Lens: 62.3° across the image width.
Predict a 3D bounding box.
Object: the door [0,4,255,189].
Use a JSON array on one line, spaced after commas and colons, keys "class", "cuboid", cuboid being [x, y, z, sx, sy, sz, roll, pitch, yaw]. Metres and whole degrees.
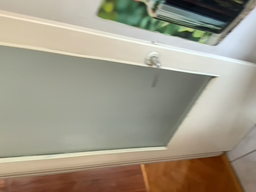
[{"class": "door", "cuboid": [0.120, 0.130, 1.050, 0.790, 2.120, 0.110, -62, 37, 36]}]
